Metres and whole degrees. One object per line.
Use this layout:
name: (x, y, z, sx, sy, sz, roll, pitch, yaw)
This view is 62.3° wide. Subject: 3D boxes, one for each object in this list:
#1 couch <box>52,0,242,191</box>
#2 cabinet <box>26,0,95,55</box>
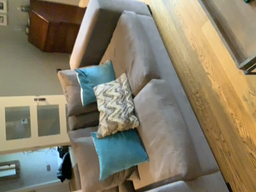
couch: (-0.110, 0.130, 2.170, 1.290, 0.840, 2.100, -49, 51, 49)
cabinet: (-1.240, -1.210, 3.820, 0.770, 1.020, 0.510, -48, 52, 50)
